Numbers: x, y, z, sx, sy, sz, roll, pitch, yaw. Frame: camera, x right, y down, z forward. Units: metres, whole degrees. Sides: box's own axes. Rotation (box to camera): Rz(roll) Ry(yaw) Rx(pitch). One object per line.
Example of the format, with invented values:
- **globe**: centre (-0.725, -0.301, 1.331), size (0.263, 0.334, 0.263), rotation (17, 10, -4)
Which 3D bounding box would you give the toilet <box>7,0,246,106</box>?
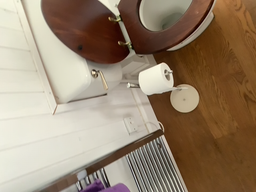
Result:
- **toilet**: centre (0.060, -0.360, 0.970), size (0.660, 0.800, 0.530), rotation (-27, 80, 30)
